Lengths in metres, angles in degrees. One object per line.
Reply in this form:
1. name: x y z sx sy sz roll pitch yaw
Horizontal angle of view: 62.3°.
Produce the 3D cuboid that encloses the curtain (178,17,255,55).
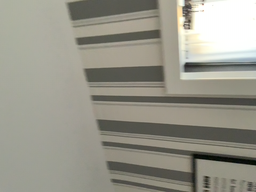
1. curtain: 2.070 -1.070 3.710 0.250 2.280 0.510 -55 -39 -54
